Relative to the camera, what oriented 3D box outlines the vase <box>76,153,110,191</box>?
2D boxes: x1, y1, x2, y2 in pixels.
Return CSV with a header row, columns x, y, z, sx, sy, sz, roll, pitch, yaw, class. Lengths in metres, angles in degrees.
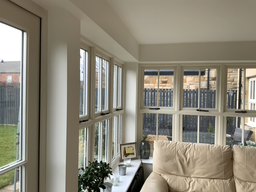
x,y,z,sx,sy,sz,roll,pitch,yaw,class
-0.270,0.760,1.700,0.160,0.490,0.390,1,2,7,vase
